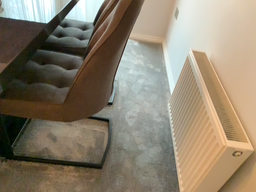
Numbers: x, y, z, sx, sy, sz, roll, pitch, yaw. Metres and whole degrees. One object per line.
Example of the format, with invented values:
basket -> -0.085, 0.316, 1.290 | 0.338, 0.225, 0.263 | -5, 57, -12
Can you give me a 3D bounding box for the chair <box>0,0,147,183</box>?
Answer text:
chair -> -0.310, -0.100, 1.040 | 0.620, 0.960, 0.490 | 11, 39, -2
